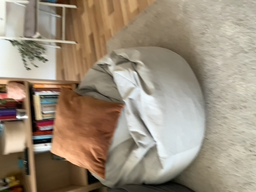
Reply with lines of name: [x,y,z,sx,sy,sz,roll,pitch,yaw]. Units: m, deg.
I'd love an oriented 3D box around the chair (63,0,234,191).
chair: [0.030,0.100,1.370,0.860,0.470,0.900,-24,72,47]

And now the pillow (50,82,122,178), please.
pillow: [-0.280,0.170,1.330,0.430,0.230,0.490,5,91,50]
